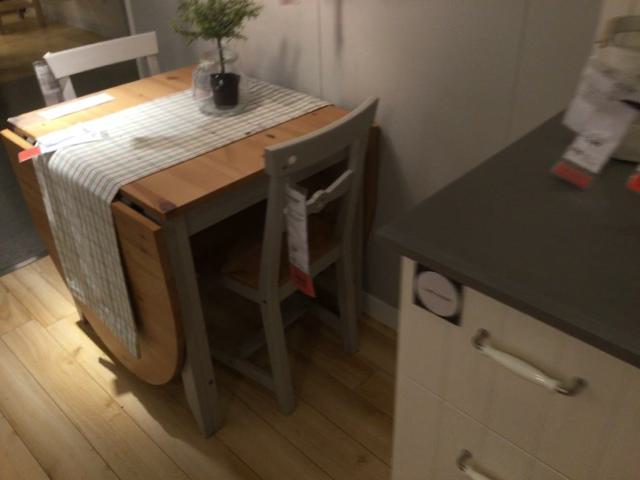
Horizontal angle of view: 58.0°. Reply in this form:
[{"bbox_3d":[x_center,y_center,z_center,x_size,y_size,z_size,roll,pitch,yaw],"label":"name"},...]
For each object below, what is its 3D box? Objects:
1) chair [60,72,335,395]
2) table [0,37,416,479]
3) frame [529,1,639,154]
[{"bbox_3d":[-0.360,-0.060,1.870,0.500,0.740,0.630,-30,41,-35],"label":"chair"},{"bbox_3d":[-0.370,-0.050,1.760,0.780,0.810,1.000,-30,41,-35],"label":"table"},{"bbox_3d":[0.570,-0.240,0.870,0.310,0.140,0.360,-30,41,-35],"label":"frame"}]
